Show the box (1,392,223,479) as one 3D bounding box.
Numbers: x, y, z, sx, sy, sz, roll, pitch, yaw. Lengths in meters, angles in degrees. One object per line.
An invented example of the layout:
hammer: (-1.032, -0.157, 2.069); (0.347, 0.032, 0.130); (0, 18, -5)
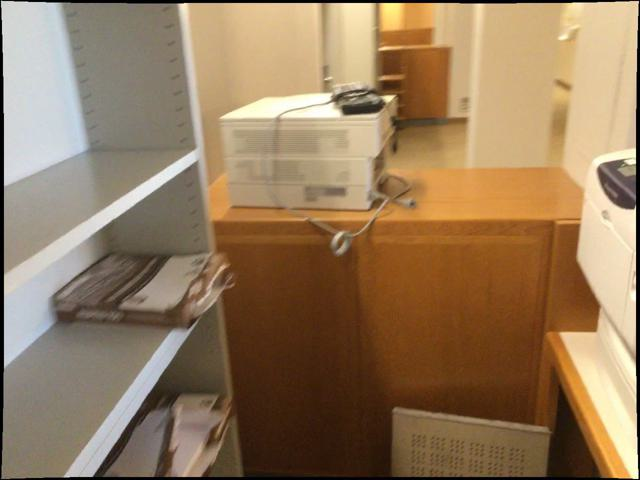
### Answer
box: (-0.379, 0.451, 1.110); (0.299, 0.180, 0.240); (0, 24, 10)

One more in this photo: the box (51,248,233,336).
box: (-0.359, 0.100, 1.210); (0.289, 0.080, 0.220); (0, 24, 10)

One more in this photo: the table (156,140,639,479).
table: (0.389, 0.281, 2.000); (1.536, 1.062, 0.680); (0, 24, 10)

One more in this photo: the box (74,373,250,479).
box: (-0.339, 0.411, 1.290); (0.309, 0.100, 0.210); (0, 24, 10)
